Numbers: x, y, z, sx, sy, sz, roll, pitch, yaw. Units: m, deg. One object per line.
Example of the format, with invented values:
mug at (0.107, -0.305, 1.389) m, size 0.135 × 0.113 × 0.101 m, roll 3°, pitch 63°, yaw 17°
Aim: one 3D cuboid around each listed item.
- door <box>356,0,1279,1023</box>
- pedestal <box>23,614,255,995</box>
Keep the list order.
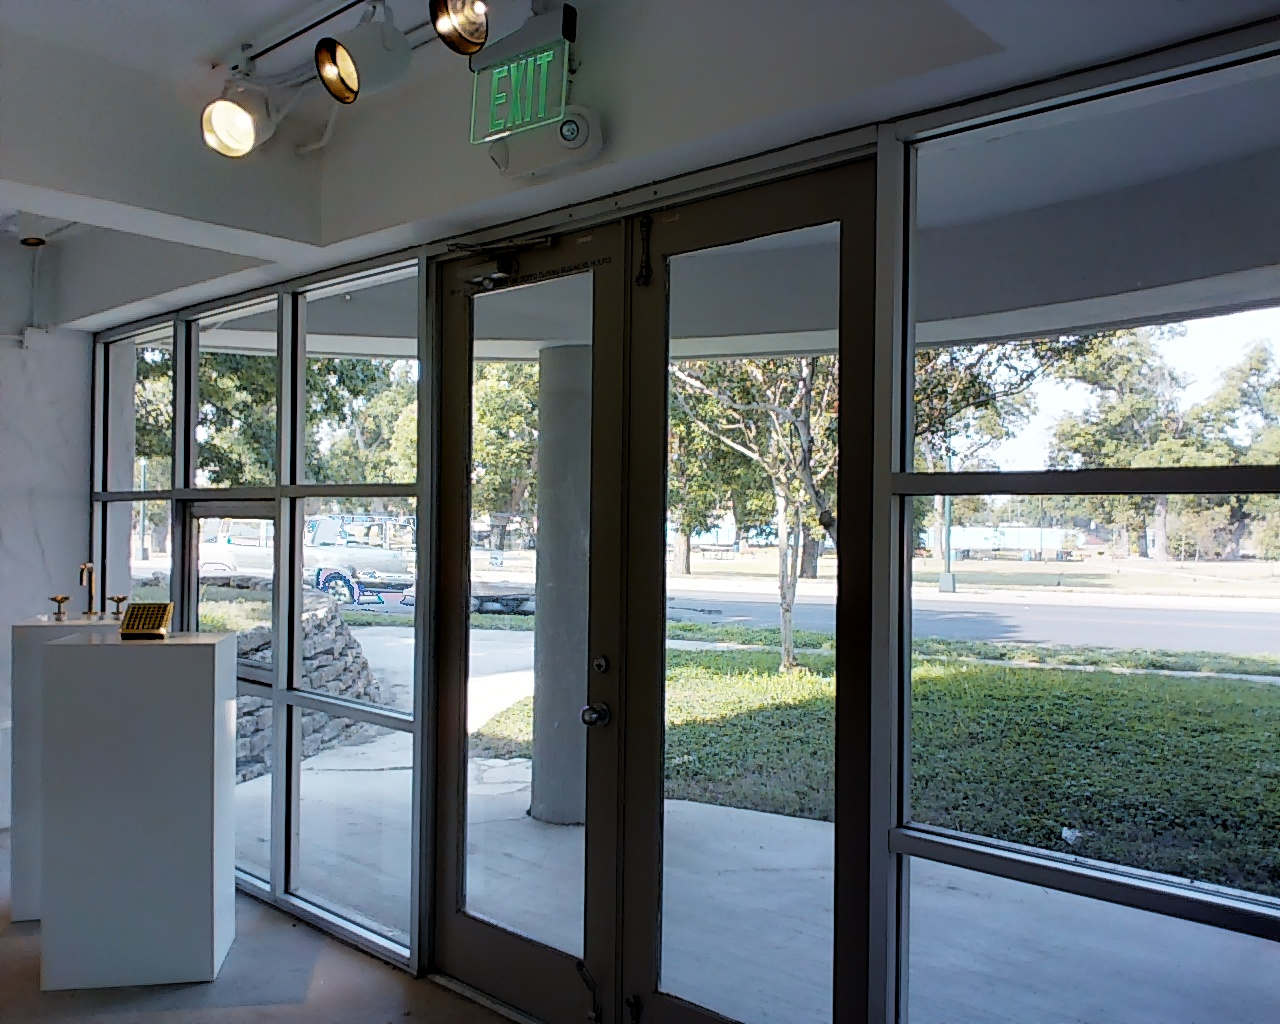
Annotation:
door at (0.110, 0.300, 2.740) m, size 2.720 × 2.360 × 0.140 m, roll 1°, pitch 0°, yaw 42°
pedestal at (-1.610, 0.910, 3.510) m, size 0.590 × 1.110 × 0.420 m, roll 1°, pitch 0°, yaw -10°
